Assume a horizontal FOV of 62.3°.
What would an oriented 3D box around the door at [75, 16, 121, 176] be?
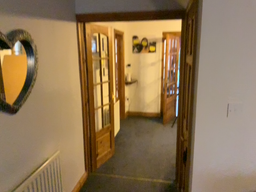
[{"bbox_3d":[-0.390,-0.020,3.240,0.160,2.130,0.990,6,14,22],"label":"door"}]
